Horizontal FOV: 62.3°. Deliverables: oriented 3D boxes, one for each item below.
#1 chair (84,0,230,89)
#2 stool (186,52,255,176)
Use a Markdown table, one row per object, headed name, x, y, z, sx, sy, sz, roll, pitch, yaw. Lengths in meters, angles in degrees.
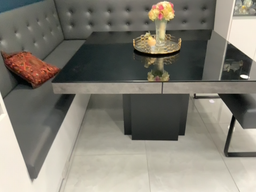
| name | x | y | z | sx | sy | sz | roll | pitch | yaw |
| --- | --- | --- | --- | --- | --- | --- | --- | --- | --- |
| chair | 0.330 | -0.710 | 2.820 | 1.590 | 1.070 | 0.560 | -1 | 29 | 0 |
| stool | 0.910 | 0.060 | 1.930 | 0.410 | 0.560 | 1.150 | -2 | 29 | -1 |
